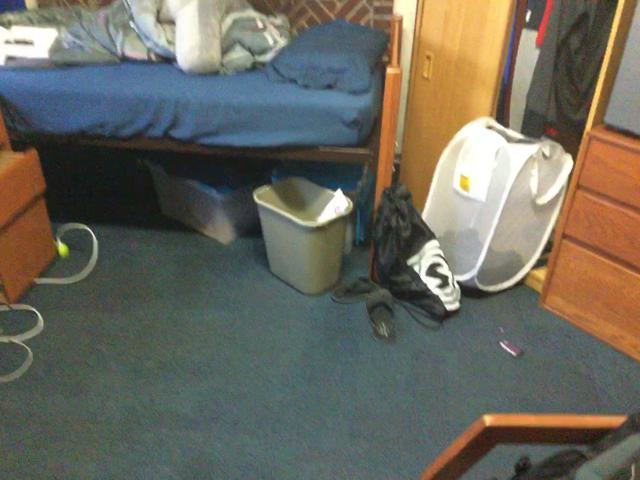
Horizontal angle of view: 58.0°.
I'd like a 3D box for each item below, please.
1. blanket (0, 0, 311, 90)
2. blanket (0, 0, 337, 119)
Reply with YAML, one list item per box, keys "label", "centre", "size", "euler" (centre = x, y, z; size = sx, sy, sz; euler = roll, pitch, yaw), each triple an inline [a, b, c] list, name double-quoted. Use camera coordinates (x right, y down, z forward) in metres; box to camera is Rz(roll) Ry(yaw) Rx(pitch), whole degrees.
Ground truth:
- label: "blanket"
  centre: [-0.850, -0.940, 2.420]
  size: [1.530, 0.310, 0.780]
  euler: [4, 32, 6]
- label: "blanket"
  centre: [-0.890, -0.910, 2.440]
  size: [1.850, 0.430, 0.810]
  euler: [4, 32, 6]
